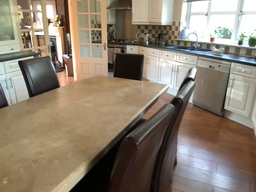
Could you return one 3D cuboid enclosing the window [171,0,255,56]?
[{"bbox_3d":[1.620,-1.440,3.800,0.210,1.170,2.000,-12,24,-32],"label":"window"}]
